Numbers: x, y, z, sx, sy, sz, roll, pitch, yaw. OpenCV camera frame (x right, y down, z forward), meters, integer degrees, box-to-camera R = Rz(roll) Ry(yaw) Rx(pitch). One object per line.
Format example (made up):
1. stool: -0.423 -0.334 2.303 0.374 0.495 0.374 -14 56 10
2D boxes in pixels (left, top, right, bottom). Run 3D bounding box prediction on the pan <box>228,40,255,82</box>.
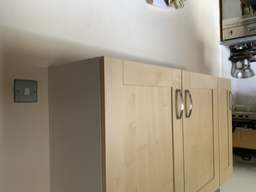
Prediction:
1. pan: 1.460 -0.420 2.610 0.350 0.460 0.220 -1 180 41
